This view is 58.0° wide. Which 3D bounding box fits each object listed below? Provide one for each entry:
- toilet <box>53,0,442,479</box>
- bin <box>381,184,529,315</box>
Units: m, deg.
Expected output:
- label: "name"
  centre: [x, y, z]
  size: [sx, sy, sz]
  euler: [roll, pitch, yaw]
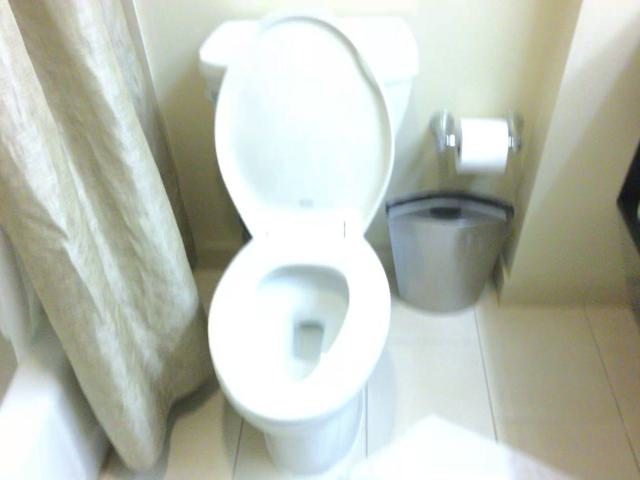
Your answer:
- label: "toilet"
  centre: [-0.030, 0.030, 1.210]
  size: [0.440, 0.860, 0.760]
  euler: [0, 42, 6]
- label: "bin"
  centre: [0.340, 0.030, 1.560]
  size: [0.350, 0.320, 0.170]
  euler: [0, 42, 6]
